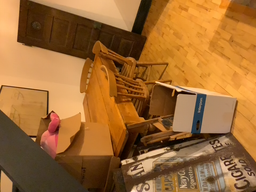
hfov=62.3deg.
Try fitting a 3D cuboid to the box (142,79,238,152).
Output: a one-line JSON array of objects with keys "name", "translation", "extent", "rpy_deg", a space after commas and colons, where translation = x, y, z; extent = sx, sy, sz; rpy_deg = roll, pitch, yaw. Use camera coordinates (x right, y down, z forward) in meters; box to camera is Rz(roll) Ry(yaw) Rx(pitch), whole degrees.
[{"name": "box", "translation": [0.490, 0.150, 1.760], "extent": [0.440, 0.530, 0.470], "rpy_deg": [-156, 75, -65]}]

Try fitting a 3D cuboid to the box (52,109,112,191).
[{"name": "box", "translation": [-0.450, 0.530, 1.900], "extent": [0.580, 0.360, 0.560], "rpy_deg": [-113, 38, -49]}]
